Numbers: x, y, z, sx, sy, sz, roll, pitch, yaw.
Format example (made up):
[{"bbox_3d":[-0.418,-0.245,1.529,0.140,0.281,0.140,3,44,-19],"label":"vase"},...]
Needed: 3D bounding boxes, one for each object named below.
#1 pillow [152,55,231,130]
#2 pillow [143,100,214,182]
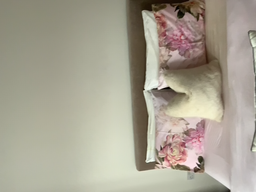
[{"bbox_3d":[0.480,-0.030,1.630,0.400,0.390,0.250,64,167,-7],"label":"pillow"},{"bbox_3d":[0.450,0.380,1.870,0.560,0.440,0.150,69,166,-7],"label":"pillow"}]
